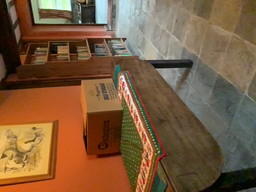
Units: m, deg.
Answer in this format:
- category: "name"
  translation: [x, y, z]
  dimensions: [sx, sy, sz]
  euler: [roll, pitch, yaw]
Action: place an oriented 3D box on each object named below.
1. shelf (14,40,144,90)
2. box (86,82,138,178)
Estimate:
- category: "shelf"
  translation: [-0.800, -0.600, 3.660]
  dimensions: [1.020, 1.880, 0.400]
  euler: [-116, 25, -53]
- category: "box"
  translation: [-0.150, 0.250, 1.650]
  dimensions: [0.450, 0.280, 0.550]
  euler: [-115, 25, -53]
